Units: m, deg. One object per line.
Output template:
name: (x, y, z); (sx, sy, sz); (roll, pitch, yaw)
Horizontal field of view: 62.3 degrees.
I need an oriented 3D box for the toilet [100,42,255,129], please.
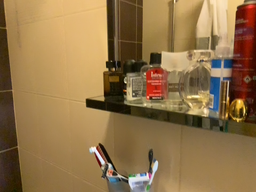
toilet: (0.120, -0.040, 0.530); (0.410, 0.160, 0.100); (6, 12, 35)
